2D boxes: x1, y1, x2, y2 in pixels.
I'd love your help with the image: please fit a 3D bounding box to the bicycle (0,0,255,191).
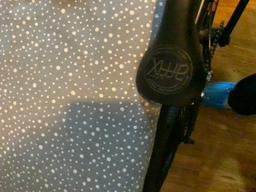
[{"bbox_3d":[0.180,-0.390,0.460,0.760,1.070,1.660,15,94,8],"label":"bicycle"}]
